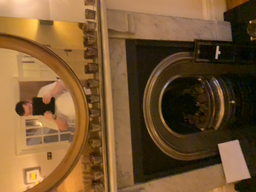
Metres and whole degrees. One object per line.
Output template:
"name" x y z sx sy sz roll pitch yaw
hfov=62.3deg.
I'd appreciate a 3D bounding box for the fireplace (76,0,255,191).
"fireplace" 0.360 0.050 1.460 0.710 1.200 1.540 -3 90 64
